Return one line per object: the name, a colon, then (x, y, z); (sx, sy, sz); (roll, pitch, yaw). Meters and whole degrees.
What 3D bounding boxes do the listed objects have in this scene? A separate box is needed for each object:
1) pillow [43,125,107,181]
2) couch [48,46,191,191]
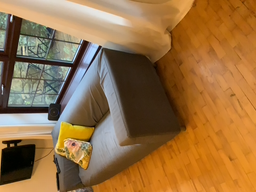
pillow: (-0.650, 0.720, 2.650); (0.540, 0.530, 0.150); (-37, 29, 4)
couch: (-0.320, 0.460, 2.500); (1.840, 0.680, 0.940); (-49, 51, 42)
